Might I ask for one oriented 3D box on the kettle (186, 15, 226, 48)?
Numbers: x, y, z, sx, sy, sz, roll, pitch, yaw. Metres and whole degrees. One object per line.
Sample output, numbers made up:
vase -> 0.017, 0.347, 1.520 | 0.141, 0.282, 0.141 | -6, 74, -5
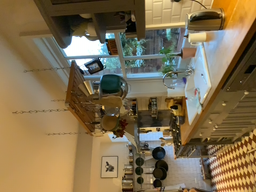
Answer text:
kettle -> 0.560, -0.470, 1.550 | 0.170, 0.220, 0.140 | 77, -170, -67
